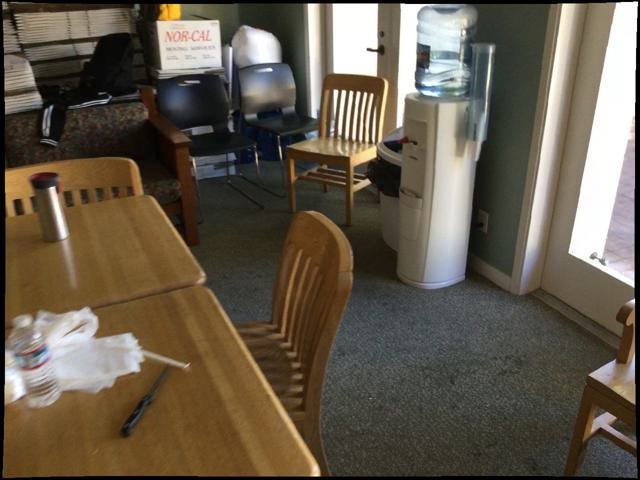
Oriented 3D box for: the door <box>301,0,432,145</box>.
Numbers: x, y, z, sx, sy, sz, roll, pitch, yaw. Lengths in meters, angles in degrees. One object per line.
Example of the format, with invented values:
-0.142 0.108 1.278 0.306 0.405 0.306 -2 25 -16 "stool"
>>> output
0.260 -1.612 3.850 0.300 1.631 1.240 -13 30 -22 "door"
